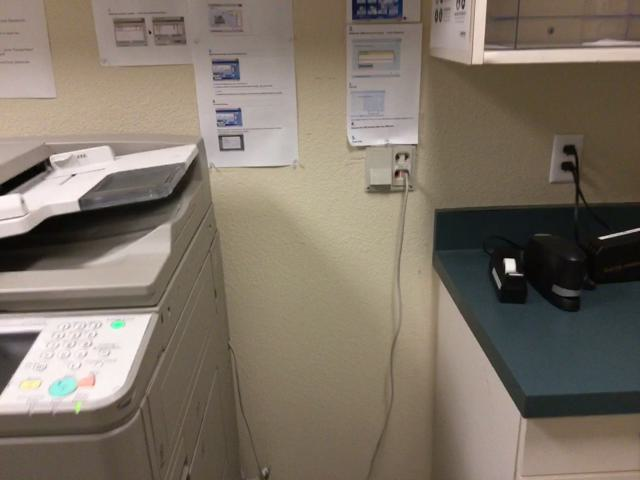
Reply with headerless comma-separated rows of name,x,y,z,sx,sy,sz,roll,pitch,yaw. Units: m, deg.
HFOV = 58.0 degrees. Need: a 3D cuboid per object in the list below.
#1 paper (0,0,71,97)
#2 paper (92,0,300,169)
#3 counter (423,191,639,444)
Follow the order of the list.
paper,-0.650,-0.440,1.190,0.220,0.280,0.030,-2,16,-1
paper,-0.250,-0.400,1.210,0.400,0.480,0.070,-2,16,-1
counter,0.770,0.080,1.110,1.020,0.230,0.620,-2,16,-1
